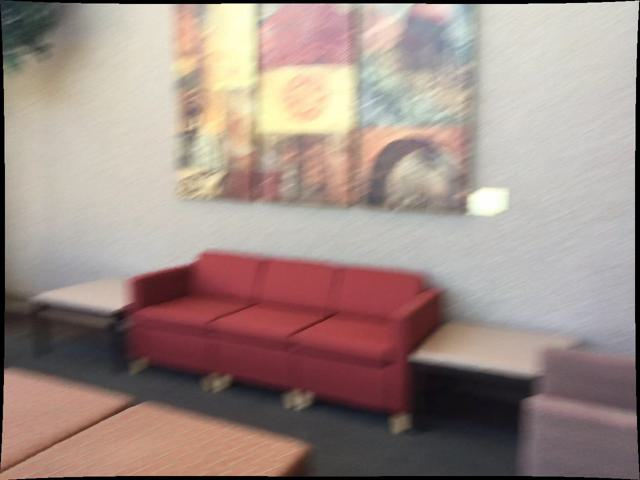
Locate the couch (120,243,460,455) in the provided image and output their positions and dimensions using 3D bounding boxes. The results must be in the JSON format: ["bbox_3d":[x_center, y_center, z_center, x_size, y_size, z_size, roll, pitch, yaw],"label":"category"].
[{"bbox_3d":[-0.210,0.561,3.710,1.967,0.831,0.880,6,7,25],"label":"couch"}]

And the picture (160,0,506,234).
[{"bbox_3d":[-0.030,-1.002,3.830,2.307,1.703,0.320,6,7,25],"label":"picture"}]

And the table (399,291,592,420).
[{"bbox_3d":[0.988,0.571,3.150,0.869,0.341,0.860,6,7,25],"label":"table"}]
